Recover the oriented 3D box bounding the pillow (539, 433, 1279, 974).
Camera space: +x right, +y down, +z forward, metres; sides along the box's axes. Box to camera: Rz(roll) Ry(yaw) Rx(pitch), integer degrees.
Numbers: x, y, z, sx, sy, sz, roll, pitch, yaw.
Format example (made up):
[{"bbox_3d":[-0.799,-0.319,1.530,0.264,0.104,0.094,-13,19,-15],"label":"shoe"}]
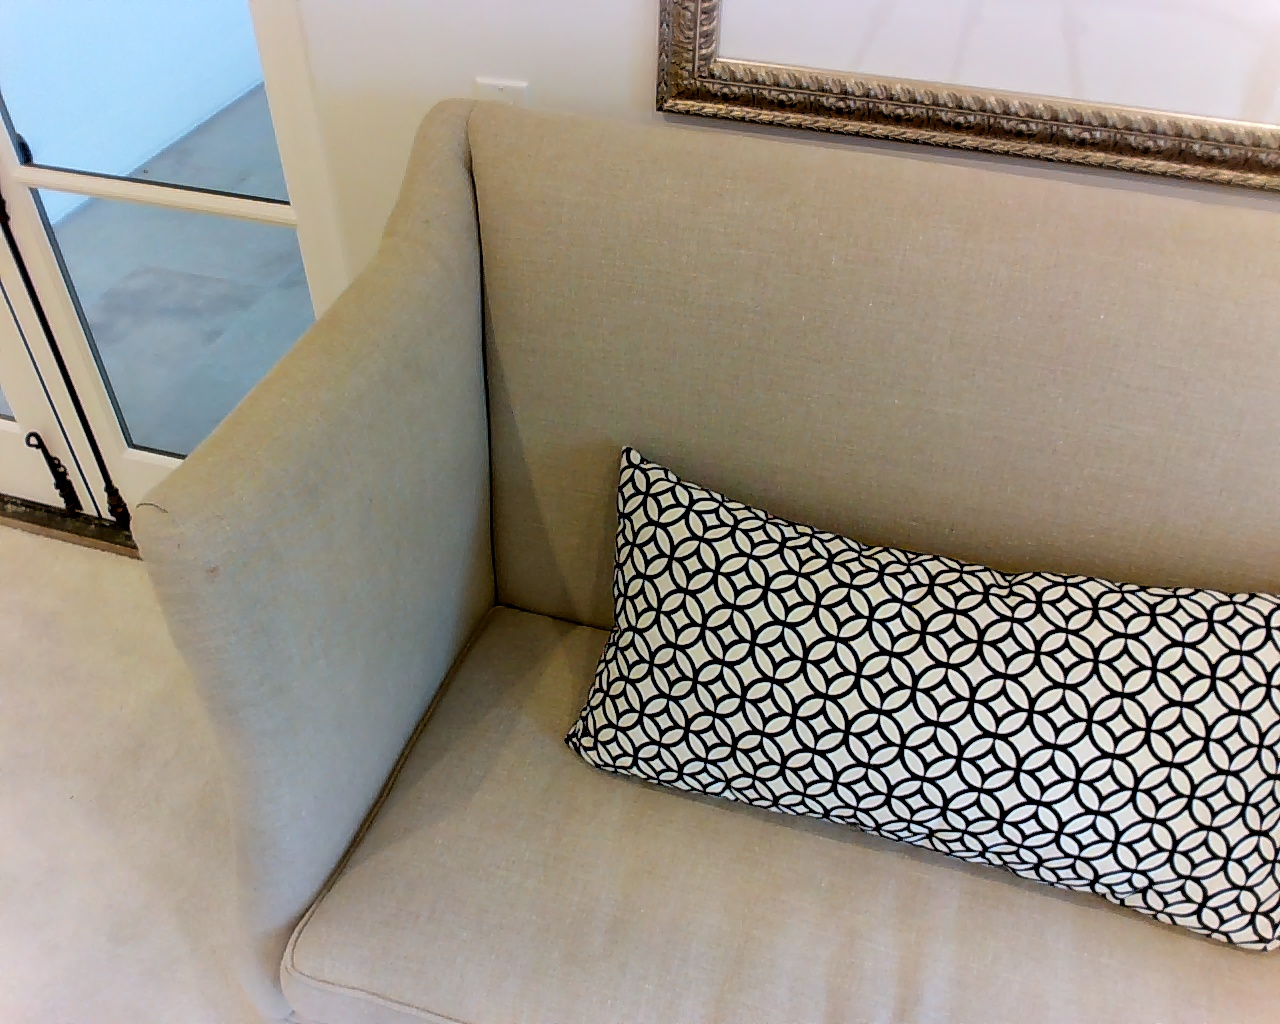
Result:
[{"bbox_3d":[0.330,0.200,1.220,0.830,0.310,0.280,13,45,11],"label":"pillow"}]
